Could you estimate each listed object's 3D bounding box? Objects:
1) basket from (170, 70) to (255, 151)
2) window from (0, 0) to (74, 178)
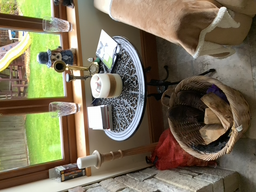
[{"bbox_3d":[0.580,0.110,1.420,0.450,0.260,0.400,-35,65,51],"label":"basket"},{"bbox_3d":[-0.970,-0.260,1.520,0.080,1.060,1.670,-4,89,56],"label":"window"}]
